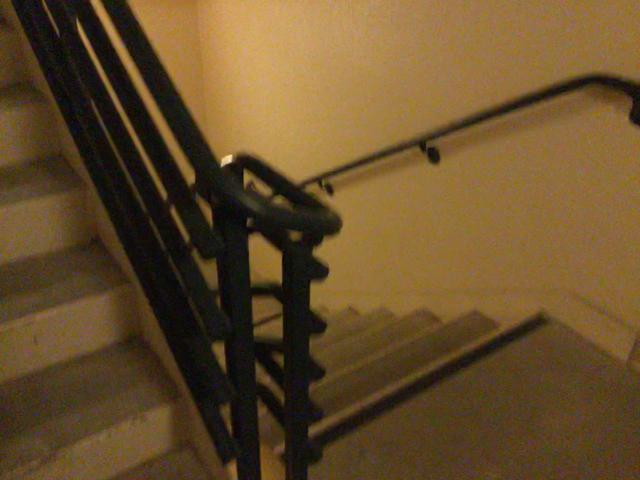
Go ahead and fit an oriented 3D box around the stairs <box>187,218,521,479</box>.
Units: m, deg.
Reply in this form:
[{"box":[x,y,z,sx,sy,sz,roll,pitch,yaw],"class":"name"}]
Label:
[{"box":[0.110,0.450,2.360,0.950,0.470,0.890,-22,38,-25],"class":"stairs"}]
